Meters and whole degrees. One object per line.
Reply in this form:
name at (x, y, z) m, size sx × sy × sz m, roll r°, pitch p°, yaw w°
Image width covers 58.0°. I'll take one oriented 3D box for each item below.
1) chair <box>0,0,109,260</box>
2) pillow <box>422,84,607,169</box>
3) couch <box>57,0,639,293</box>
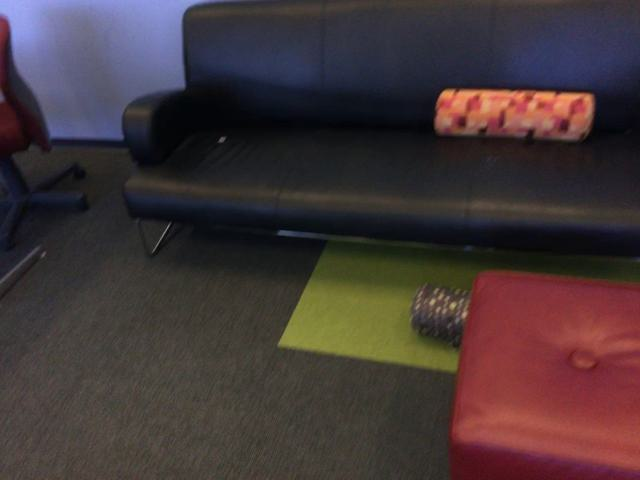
chair at (-1.500, -0.480, 2.560) m, size 0.660 × 0.880 × 0.670 m, roll -27°, pitch 40°, yaw -24°
pillow at (0.690, -0.420, 2.100) m, size 0.600 × 0.210 × 0.200 m, roll 7°, pitch 38°, yaw 19°
couch at (0.250, -0.460, 2.110) m, size 1.990 × 0.660 × 0.890 m, roll 7°, pitch 38°, yaw 19°
